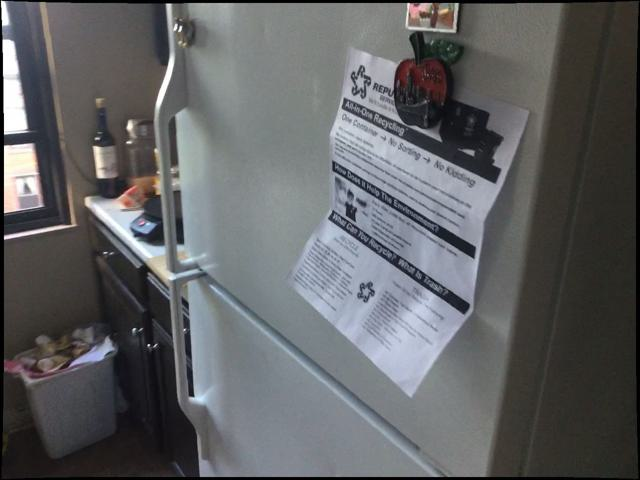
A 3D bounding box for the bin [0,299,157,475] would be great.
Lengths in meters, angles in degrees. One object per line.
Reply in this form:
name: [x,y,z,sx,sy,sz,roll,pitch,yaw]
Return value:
bin: [-0.928,0.541,2.200,0.459,0.421,0.290,-19,31,-31]
